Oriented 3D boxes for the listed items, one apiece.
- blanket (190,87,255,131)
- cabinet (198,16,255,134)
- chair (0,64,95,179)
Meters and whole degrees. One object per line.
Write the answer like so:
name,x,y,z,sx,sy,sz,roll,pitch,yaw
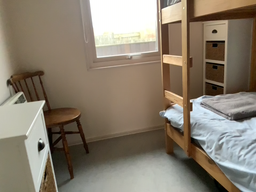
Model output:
blanket,0.830,0.070,1.640,0.500,0.130,0.500,-7,16,-11
cabinet,1.020,-0.220,2.270,0.340,1.140,0.370,-8,16,-12
chair,-0.660,0.180,1.820,0.500,0.820,0.510,0,16,13
